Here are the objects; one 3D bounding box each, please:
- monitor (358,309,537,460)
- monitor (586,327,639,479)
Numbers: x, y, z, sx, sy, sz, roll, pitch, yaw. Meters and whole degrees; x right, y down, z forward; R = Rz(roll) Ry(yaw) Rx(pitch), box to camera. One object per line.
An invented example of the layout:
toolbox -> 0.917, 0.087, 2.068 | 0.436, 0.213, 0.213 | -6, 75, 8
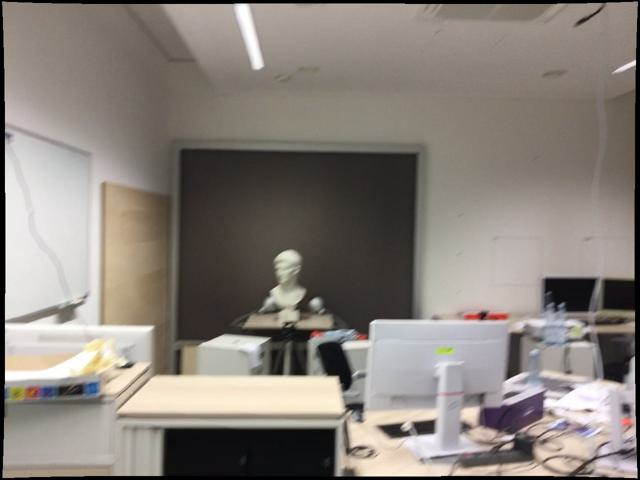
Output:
monitor -> 0.519, 0.581, 2.410 | 0.679, 0.531, 0.250 | -1, 3, -7
monitor -> 1.219, 0.611, 2.220 | 0.270, 0.430, 0.560 | 1, 3, 34
